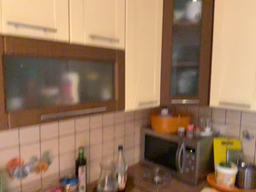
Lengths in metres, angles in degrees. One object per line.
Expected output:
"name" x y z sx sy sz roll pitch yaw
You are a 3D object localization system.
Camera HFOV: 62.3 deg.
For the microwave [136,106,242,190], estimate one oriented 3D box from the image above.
"microwave" 0.430 0.330 1.600 0.680 0.400 0.320 7 8 42
